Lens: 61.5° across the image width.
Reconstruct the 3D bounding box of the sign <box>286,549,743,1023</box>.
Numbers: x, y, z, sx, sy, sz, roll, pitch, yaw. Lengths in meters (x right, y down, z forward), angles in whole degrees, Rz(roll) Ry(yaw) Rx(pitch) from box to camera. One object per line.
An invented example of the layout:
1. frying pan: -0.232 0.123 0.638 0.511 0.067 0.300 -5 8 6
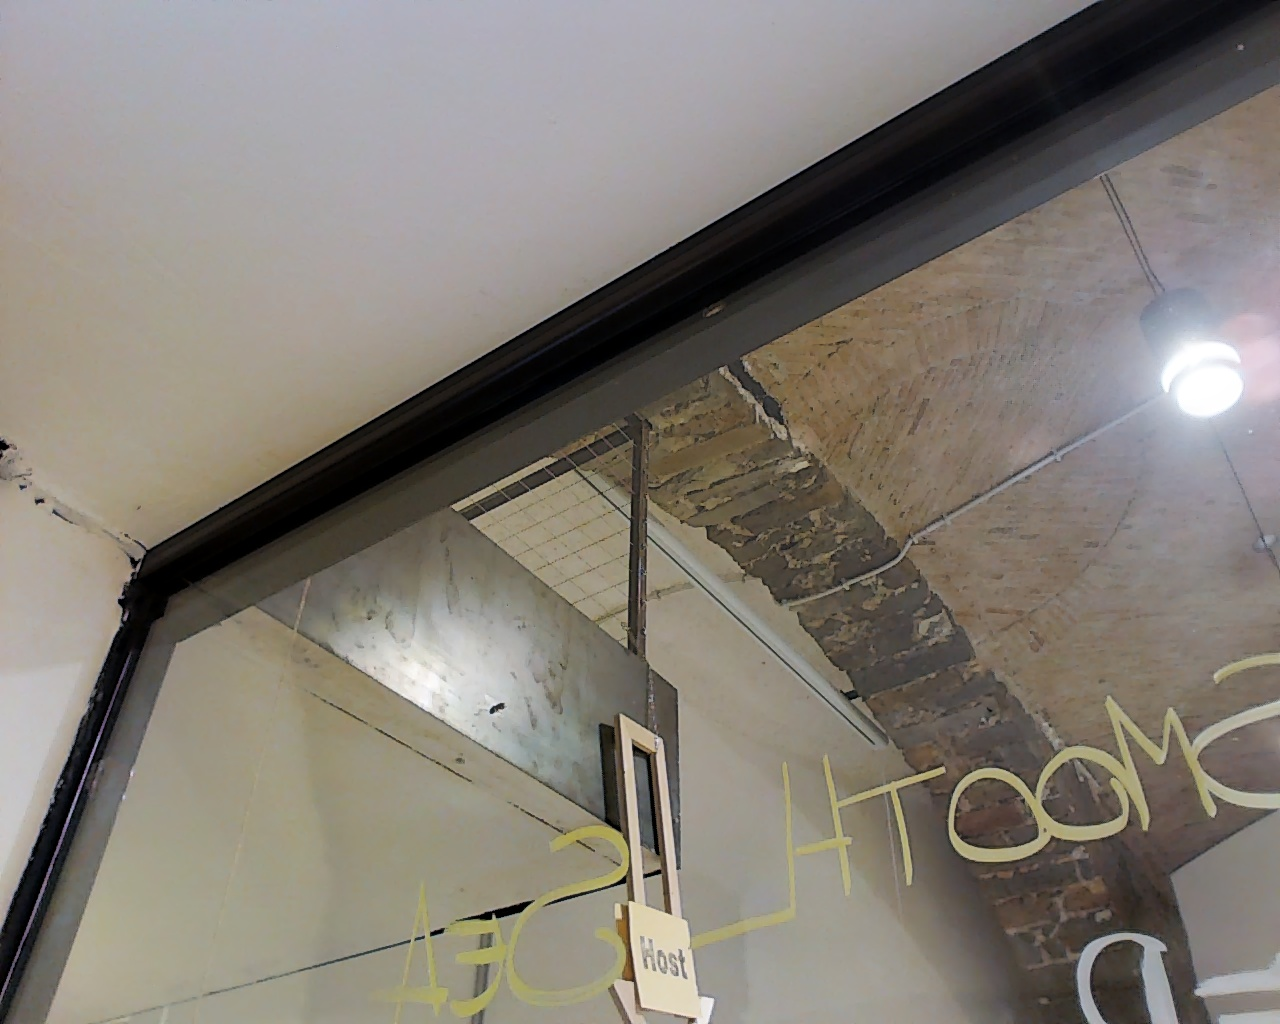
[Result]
1. sign: -0.150 0.750 2.260 0.130 0.890 1.160 -25 -47 26
